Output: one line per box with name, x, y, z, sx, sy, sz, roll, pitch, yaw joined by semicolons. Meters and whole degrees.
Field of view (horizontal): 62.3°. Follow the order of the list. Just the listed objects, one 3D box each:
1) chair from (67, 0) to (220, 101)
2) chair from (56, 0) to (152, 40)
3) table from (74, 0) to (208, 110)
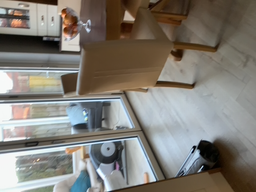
chair;0.070;-0.340;1.630;0.460;0.950;0.540;110;148;-42
chair;-0.310;-1.010;2.450;0.540;0.950;0.460;-119;35;-47
table;-0.040;-0.650;2.130;1.100;0.750;1.080;-117;33;-45
